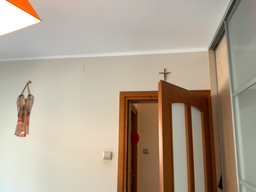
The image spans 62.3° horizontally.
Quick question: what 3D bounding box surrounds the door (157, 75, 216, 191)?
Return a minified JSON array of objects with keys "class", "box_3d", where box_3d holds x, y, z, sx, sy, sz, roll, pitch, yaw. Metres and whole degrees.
[{"class":"door","box_3d":[0.500,0.940,1.690,0.130,2.090,0.760,-9,-15,41]}]
